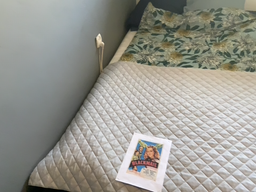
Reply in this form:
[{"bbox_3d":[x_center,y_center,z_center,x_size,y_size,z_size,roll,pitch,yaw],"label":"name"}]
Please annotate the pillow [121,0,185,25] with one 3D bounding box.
[{"bbox_3d":[0.280,-0.930,2.280,0.610,0.130,0.440,7,43,14],"label":"pillow"}]
